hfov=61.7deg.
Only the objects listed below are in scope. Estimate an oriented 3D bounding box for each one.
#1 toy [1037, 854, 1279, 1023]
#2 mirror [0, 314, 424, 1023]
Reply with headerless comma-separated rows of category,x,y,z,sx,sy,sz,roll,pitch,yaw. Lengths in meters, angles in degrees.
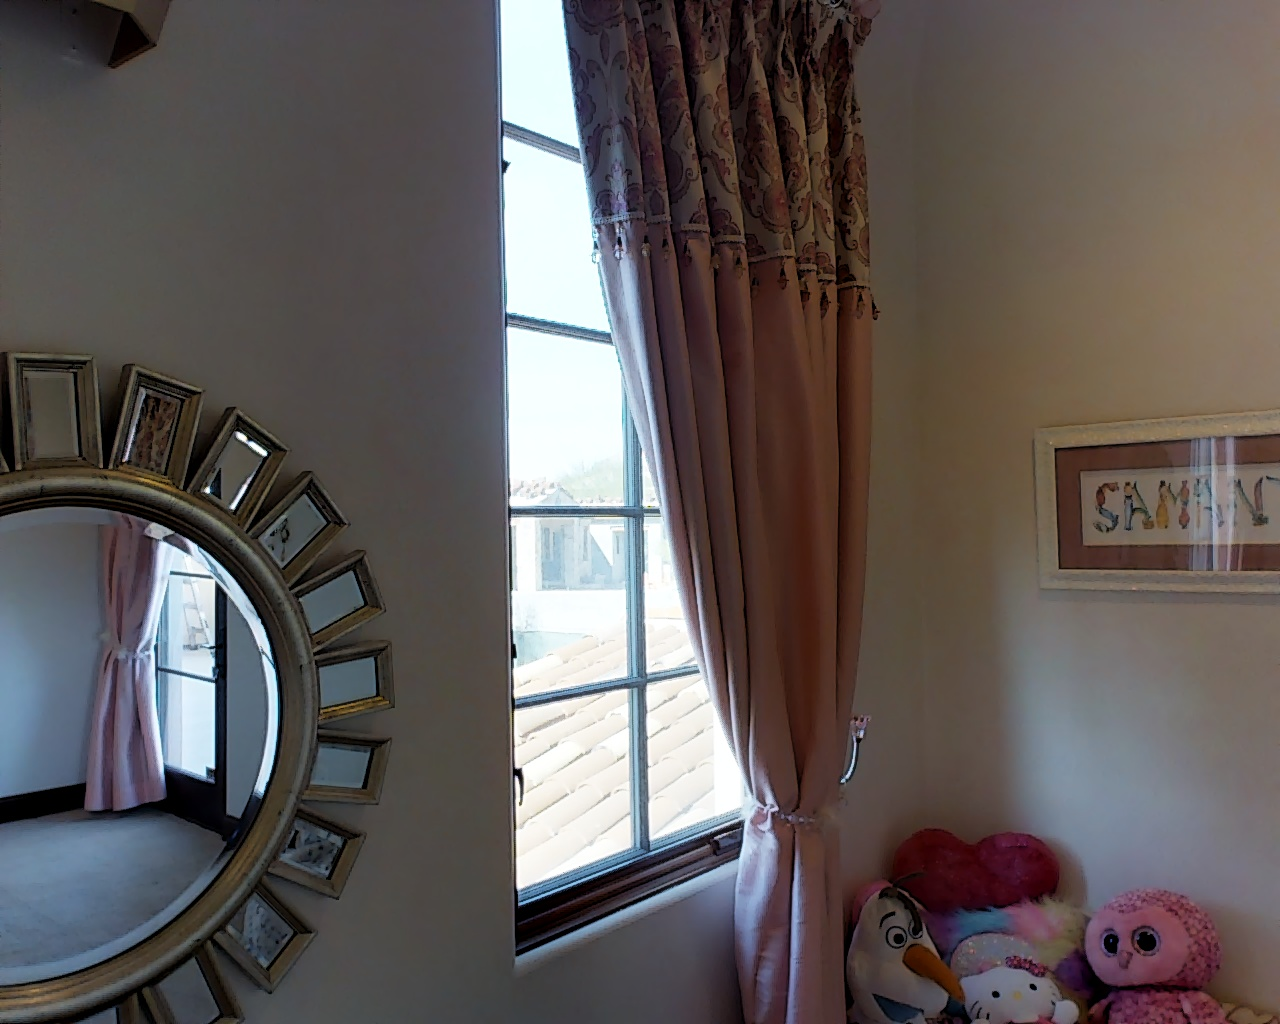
toy,1.120,1.020,2.300,0.370,0.420,0.260,-1,29,41
mirror,-0.620,0.240,1.190,0.060,0.890,0.890,-2,-1,40
